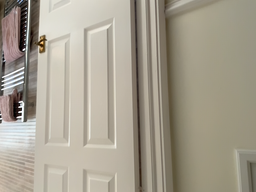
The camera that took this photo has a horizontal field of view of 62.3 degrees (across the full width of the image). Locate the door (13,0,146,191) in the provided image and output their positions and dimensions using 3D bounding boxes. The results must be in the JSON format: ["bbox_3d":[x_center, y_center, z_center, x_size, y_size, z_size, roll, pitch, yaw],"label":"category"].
[{"bbox_3d":[-0.310,-0.320,1.180,0.820,1.980,0.090,-5,171,30],"label":"door"}]
